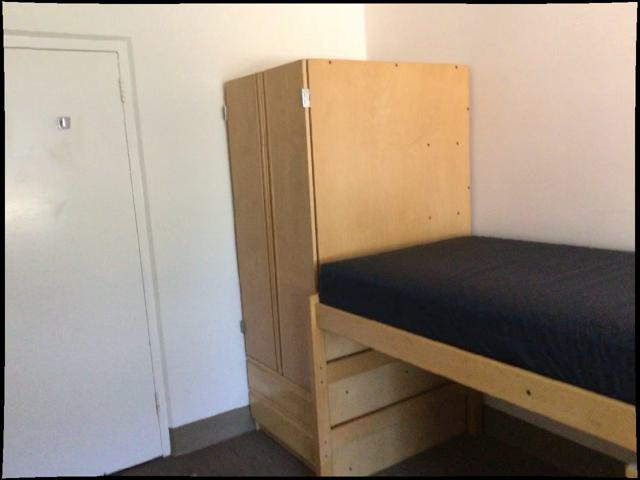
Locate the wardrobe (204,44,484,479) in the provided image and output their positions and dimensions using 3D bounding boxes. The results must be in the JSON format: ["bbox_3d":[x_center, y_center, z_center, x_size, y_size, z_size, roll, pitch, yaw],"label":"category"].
[{"bbox_3d":[0.140,0.090,2.960,0.988,1.925,0.869,-10,11,-32],"label":"wardrobe"}]

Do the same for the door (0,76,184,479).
[{"bbox_3d":[-1.217,0.251,2.640,0.968,1.925,0.120,-10,11,-32],"label":"door"}]
